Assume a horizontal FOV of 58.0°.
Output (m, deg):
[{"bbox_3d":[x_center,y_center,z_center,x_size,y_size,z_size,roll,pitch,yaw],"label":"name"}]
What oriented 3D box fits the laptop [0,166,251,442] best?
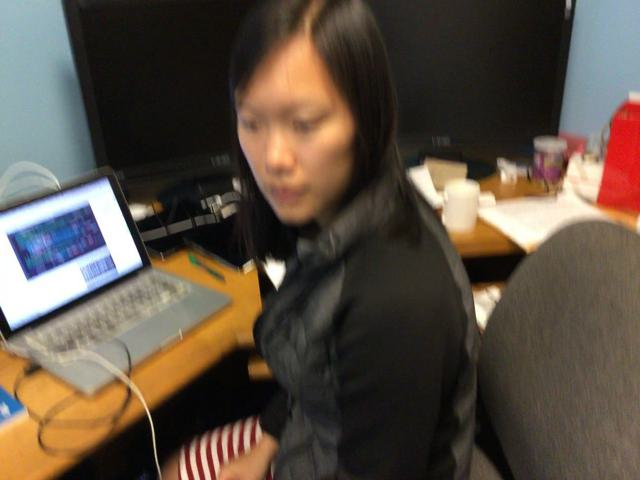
[{"bbox_3d":[-0.400,0.060,0.990,0.350,0.220,0.430,16,29,32],"label":"laptop"}]
